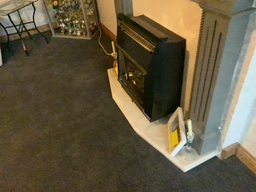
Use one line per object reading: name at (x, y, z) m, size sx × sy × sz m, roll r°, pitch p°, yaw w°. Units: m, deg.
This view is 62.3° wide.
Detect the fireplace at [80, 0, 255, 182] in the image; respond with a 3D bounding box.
fireplace at (0.180, -0.390, 1.500) m, size 0.600 × 1.200 × 1.340 m, roll -21°, pitch 43°, yaw -17°
